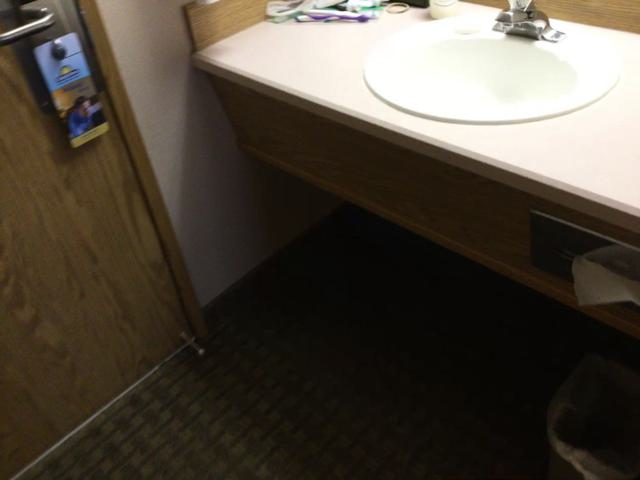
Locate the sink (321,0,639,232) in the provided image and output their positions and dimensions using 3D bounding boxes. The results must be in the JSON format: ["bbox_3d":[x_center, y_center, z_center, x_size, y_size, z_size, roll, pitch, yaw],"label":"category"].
[{"bbox_3d":[0.320,-0.280,1.140,0.440,0.180,0.430,26,54,37],"label":"sink"}]

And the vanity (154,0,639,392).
[{"bbox_3d":[0.330,-0.270,1.170,1.220,0.480,0.600,26,54,37],"label":"vanity"}]
